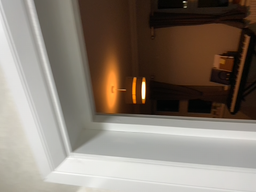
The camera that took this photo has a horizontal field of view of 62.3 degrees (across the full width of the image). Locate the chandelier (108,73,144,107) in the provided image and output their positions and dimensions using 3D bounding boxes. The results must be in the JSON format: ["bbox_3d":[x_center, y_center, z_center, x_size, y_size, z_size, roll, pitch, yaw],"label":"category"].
[{"bbox_3d":[-0.010,-0.060,2.450,0.300,0.350,0.340,30,63,-78],"label":"chandelier"}]
